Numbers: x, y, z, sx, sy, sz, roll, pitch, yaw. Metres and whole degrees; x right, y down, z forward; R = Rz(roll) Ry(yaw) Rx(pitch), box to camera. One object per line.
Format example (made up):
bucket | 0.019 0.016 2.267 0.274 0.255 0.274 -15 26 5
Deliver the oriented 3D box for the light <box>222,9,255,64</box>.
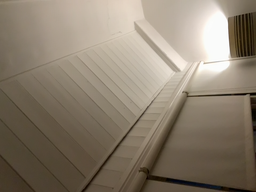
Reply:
light | 0.970 -0.510 1.810 0.280 0.250 0.360 -46 -54 -52
